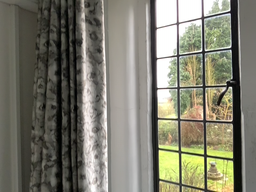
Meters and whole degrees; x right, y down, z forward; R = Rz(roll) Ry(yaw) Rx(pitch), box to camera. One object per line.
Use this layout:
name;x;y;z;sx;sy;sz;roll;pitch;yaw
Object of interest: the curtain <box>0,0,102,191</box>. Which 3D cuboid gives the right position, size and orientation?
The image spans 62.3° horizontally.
curtain;-0.310;0.360;0.750;0.360;2.340;0.250;-1;0;38
